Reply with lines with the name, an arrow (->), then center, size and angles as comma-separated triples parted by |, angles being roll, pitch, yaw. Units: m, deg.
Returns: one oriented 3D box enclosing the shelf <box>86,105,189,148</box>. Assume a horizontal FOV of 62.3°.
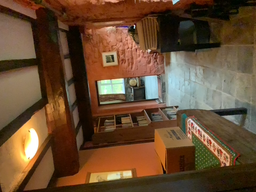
shelf -> 0.160, 0.590, 4.480 | 1.030, 1.930, 0.350 | -112, 17, -75
